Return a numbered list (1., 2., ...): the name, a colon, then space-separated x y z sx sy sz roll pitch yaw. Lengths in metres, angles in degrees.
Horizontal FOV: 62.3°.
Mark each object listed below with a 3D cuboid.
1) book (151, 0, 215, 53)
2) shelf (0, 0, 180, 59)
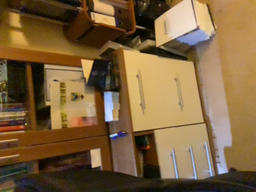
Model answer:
1. book: 0.370 -0.490 1.460 0.290 0.250 0.260 -21 73 49
2. shelf: -0.380 -0.790 1.370 0.360 1.590 0.840 -19 75 50
